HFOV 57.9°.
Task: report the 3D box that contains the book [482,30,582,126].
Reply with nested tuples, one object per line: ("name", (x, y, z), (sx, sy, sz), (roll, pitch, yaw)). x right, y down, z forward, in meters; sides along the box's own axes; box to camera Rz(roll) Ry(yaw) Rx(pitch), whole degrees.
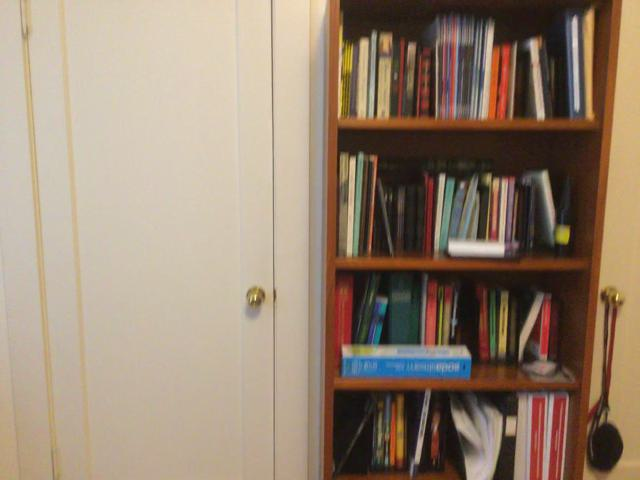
("book", (0.580, -0.440, 1.610), (0.180, 0.220, 0.250), (-3, 9, -1))

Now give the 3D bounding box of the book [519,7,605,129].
("book", (0.670, -0.470, 1.630), (0.120, 0.290, 0.270), (-3, 9, -1))

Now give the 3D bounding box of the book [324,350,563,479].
("book", (0.360, 0.560, 1.800), (0.670, 0.310, 0.290), (-3, 9, -1))

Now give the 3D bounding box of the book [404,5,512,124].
("book", (0.380, -0.480, 1.640), (0.220, 0.270, 0.310), (-3, 9, -1))

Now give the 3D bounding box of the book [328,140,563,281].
("book", (0.350, -0.100, 1.720), (0.620, 0.350, 0.290), (-3, 9, -1))

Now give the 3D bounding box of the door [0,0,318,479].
("door", (-0.480, 0.070, 1.830), (0.870, 1.980, 0.090), (-3, 9, -1))

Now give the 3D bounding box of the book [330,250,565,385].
("book", (0.380, 0.230, 1.800), (0.670, 0.330, 0.220), (-3, 9, -1))

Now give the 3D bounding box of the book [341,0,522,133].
("book", (0.310, -0.490, 1.680), (0.470, 0.320, 0.230), (-3, 9, -1))
